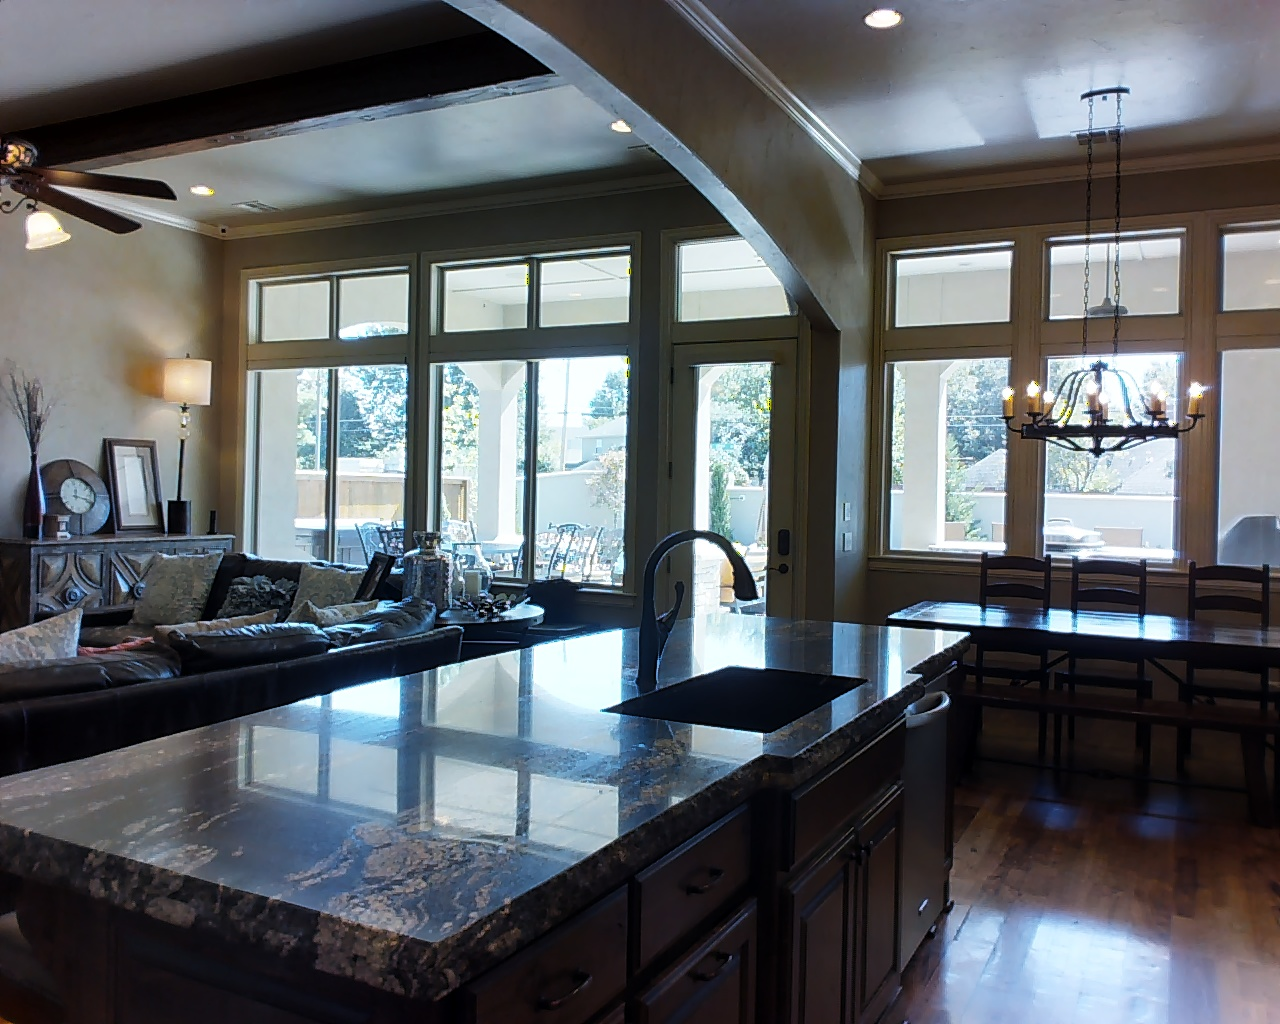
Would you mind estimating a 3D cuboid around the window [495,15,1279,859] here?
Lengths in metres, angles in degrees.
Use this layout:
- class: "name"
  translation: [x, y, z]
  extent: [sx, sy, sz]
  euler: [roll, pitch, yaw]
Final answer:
- class: "window"
  translation: [1.700, -0.340, 5.170]
  extent: [5.510, 3.540, 0.320]
  euler: [1, 0, 27]
